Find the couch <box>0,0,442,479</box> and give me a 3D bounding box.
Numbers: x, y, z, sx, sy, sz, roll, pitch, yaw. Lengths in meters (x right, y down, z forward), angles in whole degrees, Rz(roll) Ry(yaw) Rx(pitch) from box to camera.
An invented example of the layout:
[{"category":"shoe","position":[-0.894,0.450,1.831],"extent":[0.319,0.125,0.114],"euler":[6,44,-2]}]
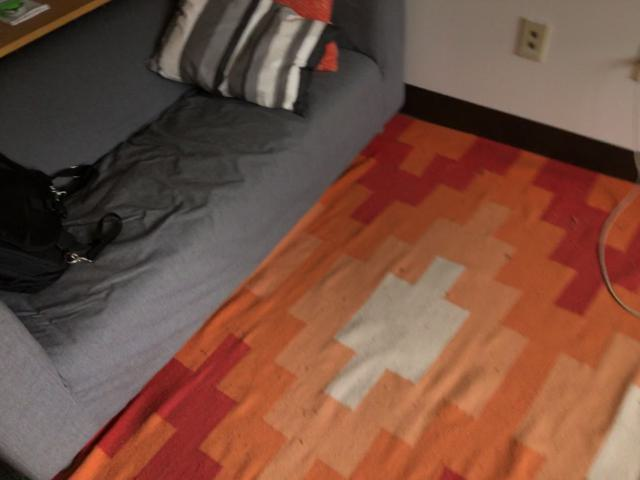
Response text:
[{"category":"couch","position":[-0.450,-0.290,1.730],"extent":[0.810,0.710,1.810],"euler":[24,53,32]}]
